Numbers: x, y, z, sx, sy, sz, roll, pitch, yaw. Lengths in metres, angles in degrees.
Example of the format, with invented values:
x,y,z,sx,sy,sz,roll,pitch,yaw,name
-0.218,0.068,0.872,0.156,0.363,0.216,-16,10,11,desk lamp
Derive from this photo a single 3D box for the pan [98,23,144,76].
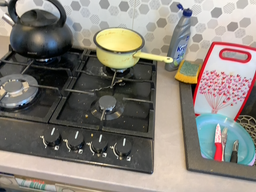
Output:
x,y,z,sx,sy,sz,roll,pitch,yaw,name
-0.020,-0.180,0.790,0.140,0.090,0.200,8,41,1,pan

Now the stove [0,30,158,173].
x,y,z,sx,sy,sz,roll,pitch,yaw,name
-0.210,-0.050,0.710,0.610,0.020,0.550,9,42,2,stove
